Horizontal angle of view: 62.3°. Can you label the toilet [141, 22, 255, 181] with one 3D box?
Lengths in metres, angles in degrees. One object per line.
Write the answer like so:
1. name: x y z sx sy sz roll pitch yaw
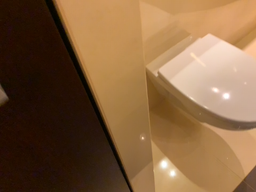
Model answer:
1. toilet: 0.400 0.020 1.060 0.380 0.460 0.540 -36 57 -18
